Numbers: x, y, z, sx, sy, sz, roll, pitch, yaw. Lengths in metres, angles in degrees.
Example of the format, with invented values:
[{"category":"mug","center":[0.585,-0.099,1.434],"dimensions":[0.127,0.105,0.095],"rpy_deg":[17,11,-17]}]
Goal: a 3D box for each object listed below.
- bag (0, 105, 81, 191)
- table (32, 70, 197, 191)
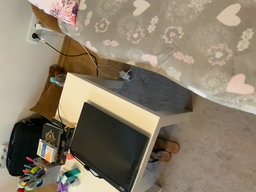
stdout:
[{"category":"bag","center":[-0.710,0.460,1.710],"dimensions":[0.340,0.320,0.680],"rpy_deg":[26,103,29]},{"category":"table","center":[-0.080,0.270,1.190],"dimensions":[0.610,0.470,0.630],"rpy_deg":[24,102,30]}]
